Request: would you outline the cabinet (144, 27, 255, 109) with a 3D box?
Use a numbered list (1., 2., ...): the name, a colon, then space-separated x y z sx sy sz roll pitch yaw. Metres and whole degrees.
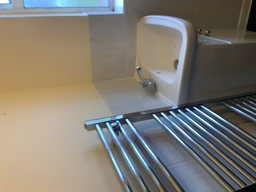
1. cabinet: 0.610 -0.240 1.390 0.530 0.840 0.330 -133 39 -58
